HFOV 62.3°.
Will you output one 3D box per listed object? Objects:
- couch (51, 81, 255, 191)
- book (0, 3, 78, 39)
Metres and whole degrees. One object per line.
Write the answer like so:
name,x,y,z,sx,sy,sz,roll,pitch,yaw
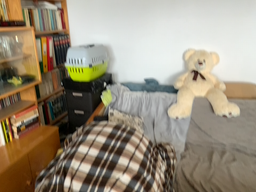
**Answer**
couch,0.680,0.460,1.800,2.110,0.770,1.210,4,20,14
book,-0.870,-0.750,2.130,0.330,0.280,0.750,6,21,20
